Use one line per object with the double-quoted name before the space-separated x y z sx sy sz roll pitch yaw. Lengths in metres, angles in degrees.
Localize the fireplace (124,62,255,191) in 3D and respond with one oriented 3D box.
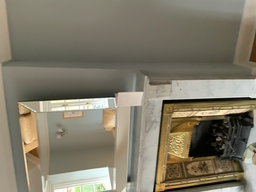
"fireplace" 0.620 0.420 1.810 0.690 1.120 1.280 -125 36 -66
